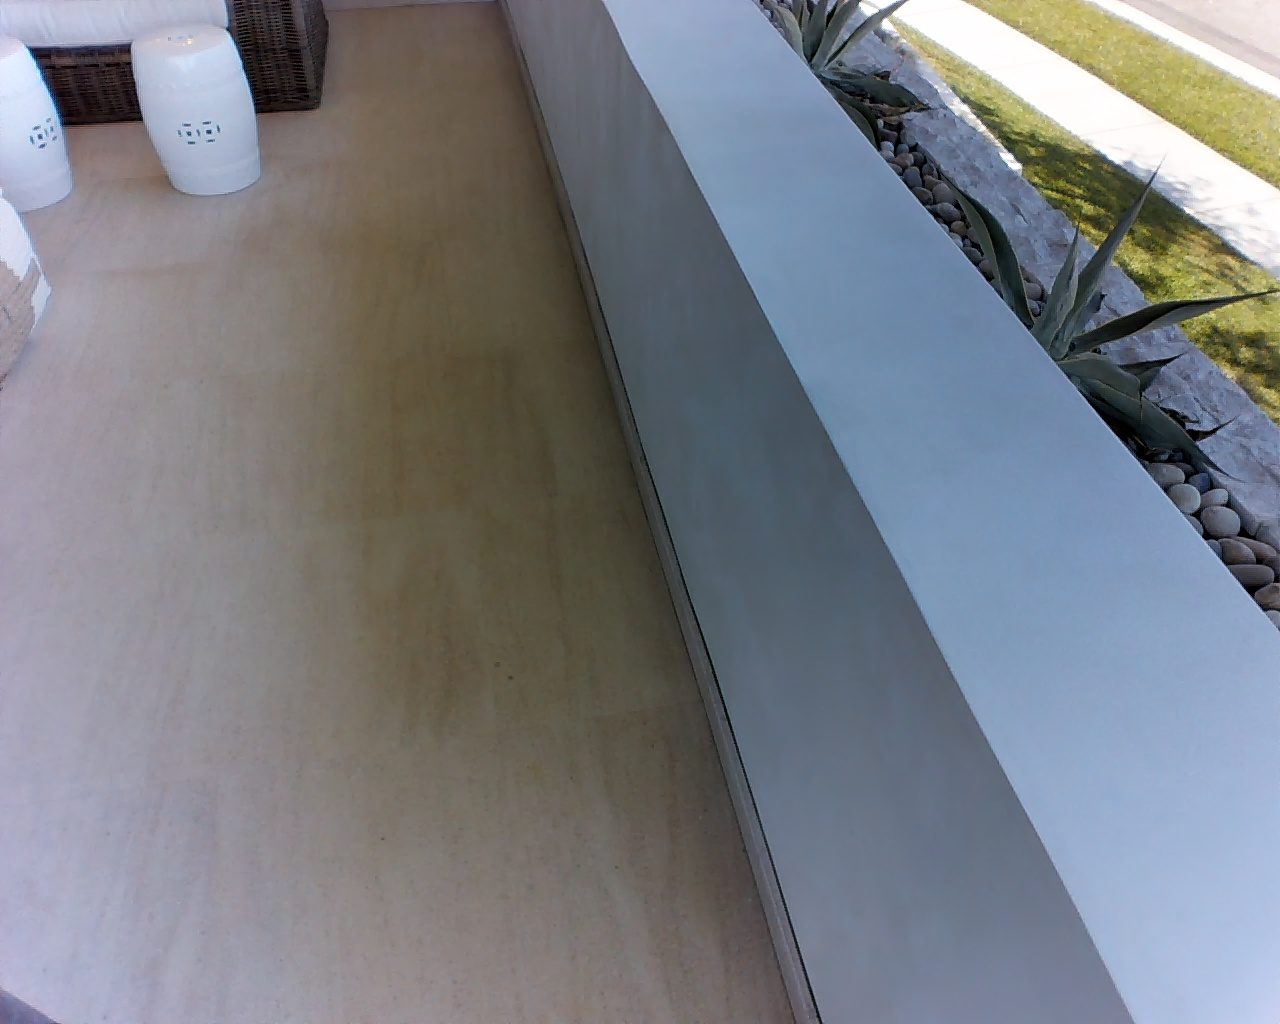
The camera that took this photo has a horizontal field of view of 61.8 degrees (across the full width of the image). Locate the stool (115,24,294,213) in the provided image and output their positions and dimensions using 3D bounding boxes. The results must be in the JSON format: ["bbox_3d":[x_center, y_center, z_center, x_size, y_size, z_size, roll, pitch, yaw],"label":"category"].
[{"bbox_3d":[-1.360,-1.250,3.400,0.390,0.450,0.330,-7,42,-7],"label":"stool"}]
